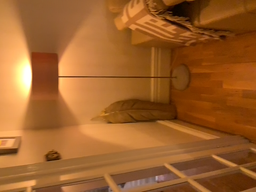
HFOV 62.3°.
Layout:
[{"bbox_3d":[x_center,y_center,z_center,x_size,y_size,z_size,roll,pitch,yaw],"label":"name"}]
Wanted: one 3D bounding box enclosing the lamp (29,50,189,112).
[{"bbox_3d":[-0.150,-0.150,2.070,0.430,1.470,0.460,-163,74,-65],"label":"lamp"}]
